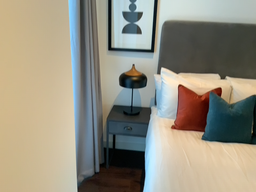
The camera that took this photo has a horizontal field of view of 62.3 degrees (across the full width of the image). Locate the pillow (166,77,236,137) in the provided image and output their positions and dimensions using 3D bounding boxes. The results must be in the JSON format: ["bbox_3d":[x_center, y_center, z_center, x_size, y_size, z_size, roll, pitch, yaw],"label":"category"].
[{"bbox_3d":[0.600,0.090,1.800,0.440,0.340,0.160,21,17,-3],"label":"pillow"}]

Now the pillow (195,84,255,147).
[{"bbox_3d":[0.770,0.150,1.640,0.320,0.370,0.120,28,16,-3],"label":"pillow"}]
